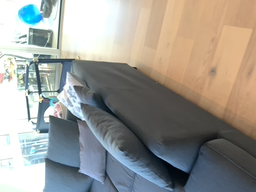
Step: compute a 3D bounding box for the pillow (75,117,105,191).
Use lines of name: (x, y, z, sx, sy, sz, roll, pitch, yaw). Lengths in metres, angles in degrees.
pillow: (-0.320, 0.490, 1.810, 0.270, 0.120, 0.540, -55, -24, -71)

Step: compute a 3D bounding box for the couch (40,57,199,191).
couch: (-0.290, 0.870, 1.990, 0.900, 0.800, 2.230, 38, 122, 49)
